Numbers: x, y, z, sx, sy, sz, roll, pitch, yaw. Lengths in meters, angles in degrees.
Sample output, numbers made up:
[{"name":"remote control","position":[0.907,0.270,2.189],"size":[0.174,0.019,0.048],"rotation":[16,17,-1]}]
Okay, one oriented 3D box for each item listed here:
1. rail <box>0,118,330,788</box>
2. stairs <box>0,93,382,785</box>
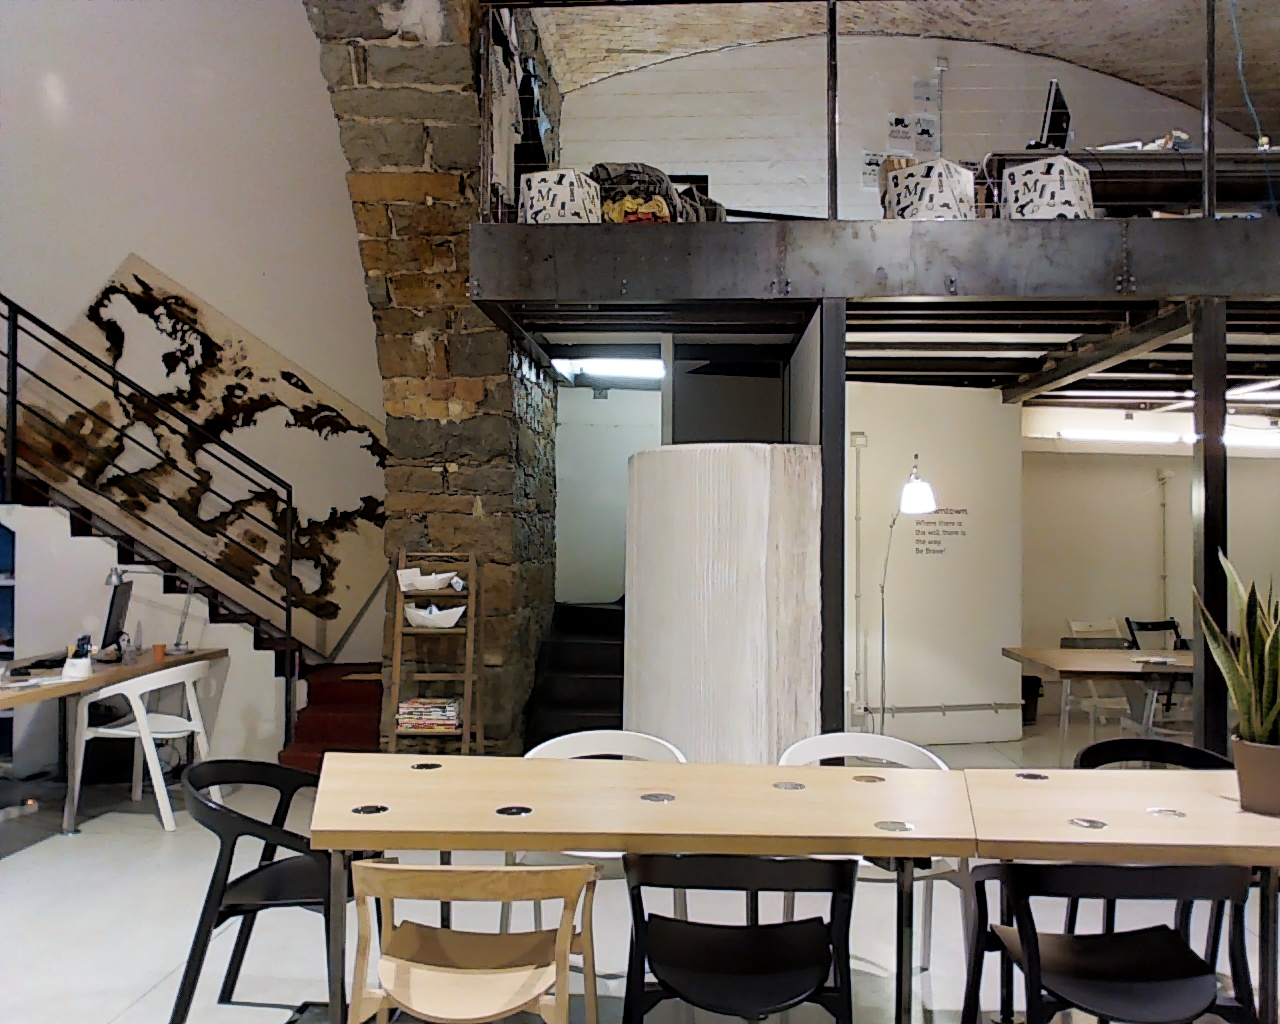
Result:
[{"name":"rail","position":[-3.519,-0.330,6.140],"size":[3.299,3.711,0.340],"rotation":[1,-1,-18]},{"name":"stairs","position":[-3.619,-0.400,6.410],"size":[3.959,3.791,1.050],"rotation":[1,-1,-15]}]
